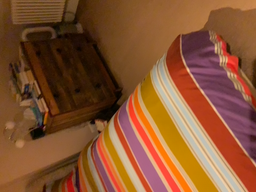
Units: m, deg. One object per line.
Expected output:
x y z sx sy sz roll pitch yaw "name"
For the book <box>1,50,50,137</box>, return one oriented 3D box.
-1.050 -0.020 2.150 0.740 0.200 0.450 62 145 15 "book"
